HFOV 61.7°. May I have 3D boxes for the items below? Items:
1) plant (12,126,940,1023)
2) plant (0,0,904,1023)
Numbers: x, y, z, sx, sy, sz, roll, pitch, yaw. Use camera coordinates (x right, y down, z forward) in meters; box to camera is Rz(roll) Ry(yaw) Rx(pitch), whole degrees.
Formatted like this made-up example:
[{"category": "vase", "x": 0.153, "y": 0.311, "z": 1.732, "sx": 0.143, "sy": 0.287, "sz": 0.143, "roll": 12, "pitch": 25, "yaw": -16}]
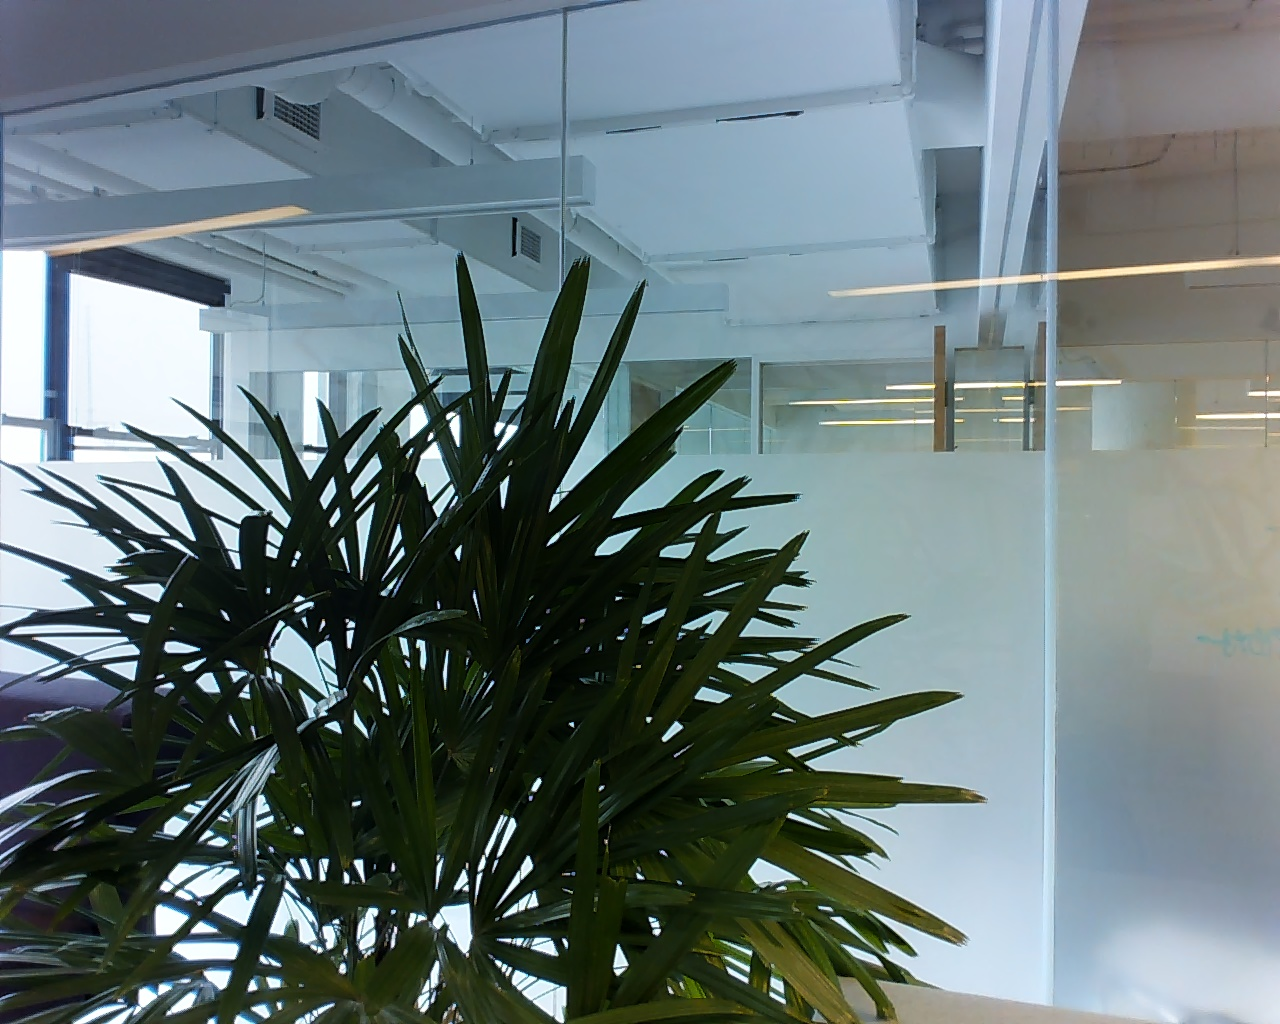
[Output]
[{"category": "plant", "x": -0.190, "y": 0.550, "z": 1.330, "sx": 1.050, "sy": 1.800, "sz": 0.430, "roll": 0, "pitch": 0, "yaw": 18}, {"category": "plant", "x": -0.250, "y": 0.390, "z": 1.110, "sx": 0.950, "sy": 1.460, "sz": 1.170, "roll": 0, "pitch": 0, "yaw": 17}]
